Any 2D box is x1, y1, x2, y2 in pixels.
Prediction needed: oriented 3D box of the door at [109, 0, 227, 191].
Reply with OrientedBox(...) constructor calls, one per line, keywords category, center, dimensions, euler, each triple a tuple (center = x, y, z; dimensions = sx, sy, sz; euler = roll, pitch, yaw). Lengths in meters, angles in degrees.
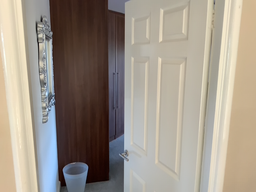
OrientedBox(category="door", center=(0.120, 0.390, 1.380), dimensions=(0.120, 1.940, 0.920), euler=(-5, 12, -28))
